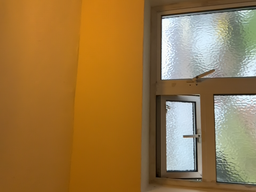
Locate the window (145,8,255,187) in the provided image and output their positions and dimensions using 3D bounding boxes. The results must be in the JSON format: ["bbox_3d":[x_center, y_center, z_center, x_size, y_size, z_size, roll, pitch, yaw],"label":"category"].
[{"bbox_3d":[0.560,-0.010,1.070,0.060,0.940,0.870,25,-115,-73],"label":"window"}]
